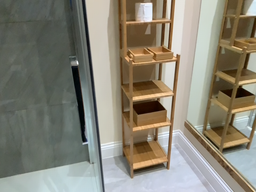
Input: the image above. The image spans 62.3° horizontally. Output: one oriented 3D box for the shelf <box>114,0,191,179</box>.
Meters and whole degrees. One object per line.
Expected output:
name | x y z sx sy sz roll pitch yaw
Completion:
shelf | 0.140 -0.150 1.520 0.380 1.630 0.310 -8 28 -15
